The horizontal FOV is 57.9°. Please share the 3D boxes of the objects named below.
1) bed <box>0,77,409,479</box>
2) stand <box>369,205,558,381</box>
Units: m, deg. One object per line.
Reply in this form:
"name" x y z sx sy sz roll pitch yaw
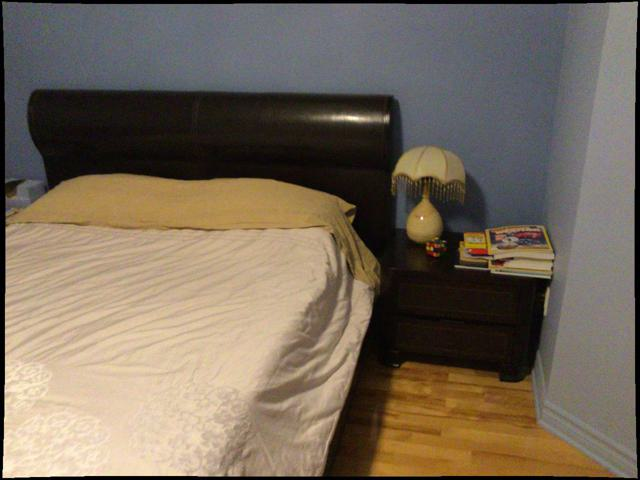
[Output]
"bed" -0.779 0.190 1.890 1.948 1.031 2.330 2 24 12
"stand" 0.569 0.190 2.400 0.659 0.510 0.510 2 24 12
